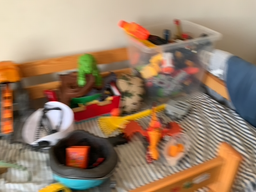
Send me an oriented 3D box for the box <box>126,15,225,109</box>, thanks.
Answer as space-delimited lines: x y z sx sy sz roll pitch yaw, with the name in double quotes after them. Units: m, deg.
0.240 -0.220 1.230 0.400 0.390 0.330 -13 33 -18 "box"
